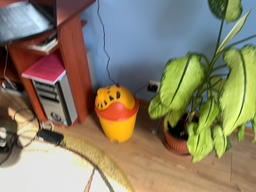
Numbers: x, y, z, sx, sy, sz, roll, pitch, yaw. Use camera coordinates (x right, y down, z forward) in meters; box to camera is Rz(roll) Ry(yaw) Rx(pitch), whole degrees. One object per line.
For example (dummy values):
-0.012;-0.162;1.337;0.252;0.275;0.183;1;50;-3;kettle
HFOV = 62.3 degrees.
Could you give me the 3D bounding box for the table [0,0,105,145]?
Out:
-0.700;-0.220;1.390;0.920;0.740;0.470;14;45;16;table
